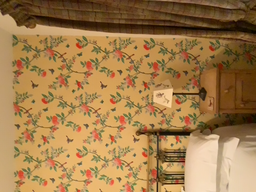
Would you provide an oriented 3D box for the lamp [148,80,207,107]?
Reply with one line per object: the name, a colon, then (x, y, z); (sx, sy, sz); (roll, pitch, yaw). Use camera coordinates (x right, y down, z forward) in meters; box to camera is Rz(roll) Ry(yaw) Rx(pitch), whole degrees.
lamp: (0.430, -0.020, 1.910); (0.270, 0.450, 0.220); (179, 92, -85)
